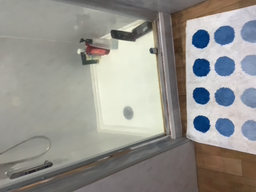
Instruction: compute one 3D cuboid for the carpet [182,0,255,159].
[{"bbox_3d":[0.580,-0.080,1.260,0.530,0.030,0.850,0,95,47],"label":"carpet"}]
